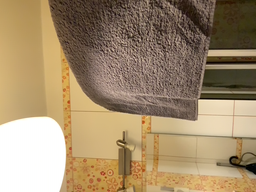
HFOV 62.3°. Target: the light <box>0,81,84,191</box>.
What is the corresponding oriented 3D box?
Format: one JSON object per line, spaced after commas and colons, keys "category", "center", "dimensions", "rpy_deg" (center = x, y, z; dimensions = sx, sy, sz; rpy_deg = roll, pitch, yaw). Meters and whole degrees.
{"category": "light", "center": [-0.440, 0.240, 0.670], "dimensions": [0.420, 0.410, 0.360], "rpy_deg": [18, 37, 34]}
